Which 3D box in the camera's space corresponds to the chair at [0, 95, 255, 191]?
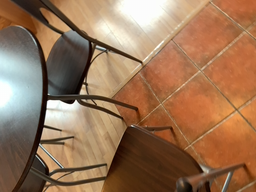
[{"bbox_3d":[0.100,0.350,0.790,0.490,0.880,0.410,23,93,36],"label":"chair"}]
